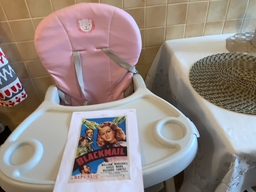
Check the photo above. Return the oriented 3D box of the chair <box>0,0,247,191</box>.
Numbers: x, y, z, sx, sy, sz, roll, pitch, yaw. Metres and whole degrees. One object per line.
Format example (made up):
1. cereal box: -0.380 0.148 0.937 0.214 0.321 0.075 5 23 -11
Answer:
1. chair: -0.110 0.170 0.940 0.600 0.990 0.690 -7 40 -5
